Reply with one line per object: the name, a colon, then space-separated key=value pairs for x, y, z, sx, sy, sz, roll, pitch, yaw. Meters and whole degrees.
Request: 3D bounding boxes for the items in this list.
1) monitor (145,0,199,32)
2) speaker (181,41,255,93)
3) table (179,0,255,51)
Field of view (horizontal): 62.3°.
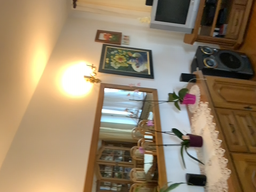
monitor: x=0.600 y=-1.330 z=2.950 sx=0.570 sy=0.580 sz=0.710 roll=-95 pitch=12 yaw=-67
speaker: x=1.170 y=-0.380 z=2.790 sx=0.390 sy=0.790 sz=0.460 roll=101 pitch=173 yaw=-48
table: x=1.240 y=-1.240 z=2.960 sx=0.600 sy=0.710 sz=1.070 roll=-97 pitch=14 yaw=-71
